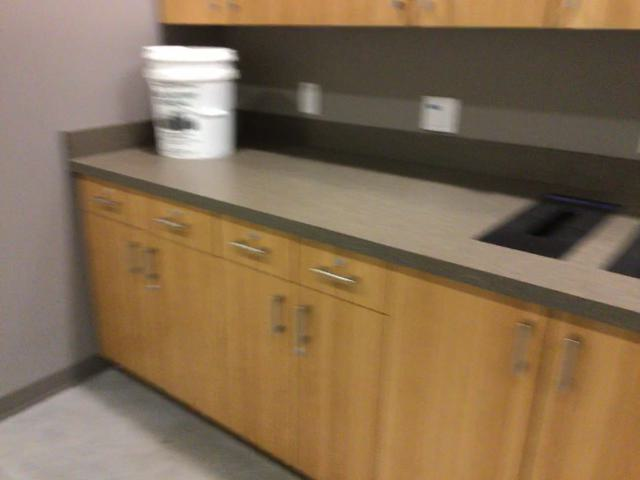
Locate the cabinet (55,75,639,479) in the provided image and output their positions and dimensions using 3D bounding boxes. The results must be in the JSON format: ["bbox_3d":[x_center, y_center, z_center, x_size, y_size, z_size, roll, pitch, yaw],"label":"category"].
[{"bbox_3d":[0.150,0.180,1.850,2.130,1.140,0.790,18,25,34],"label":"cabinet"}]

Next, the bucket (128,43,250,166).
[{"bbox_3d":[-0.480,-0.510,2.130,0.330,0.380,0.280,18,25,34],"label":"bucket"}]
